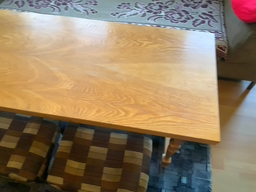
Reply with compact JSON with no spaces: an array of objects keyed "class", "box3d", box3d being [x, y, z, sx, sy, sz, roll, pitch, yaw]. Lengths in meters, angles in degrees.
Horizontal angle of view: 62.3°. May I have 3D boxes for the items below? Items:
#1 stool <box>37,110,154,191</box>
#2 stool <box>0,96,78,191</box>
[{"class":"stool","box3d":[-0.130,0.350,1.130,0.470,0.320,0.380,8,58,5]},{"class":"stool","box3d":[-0.600,0.270,1.170,0.490,0.330,0.390,8,58,5]}]
